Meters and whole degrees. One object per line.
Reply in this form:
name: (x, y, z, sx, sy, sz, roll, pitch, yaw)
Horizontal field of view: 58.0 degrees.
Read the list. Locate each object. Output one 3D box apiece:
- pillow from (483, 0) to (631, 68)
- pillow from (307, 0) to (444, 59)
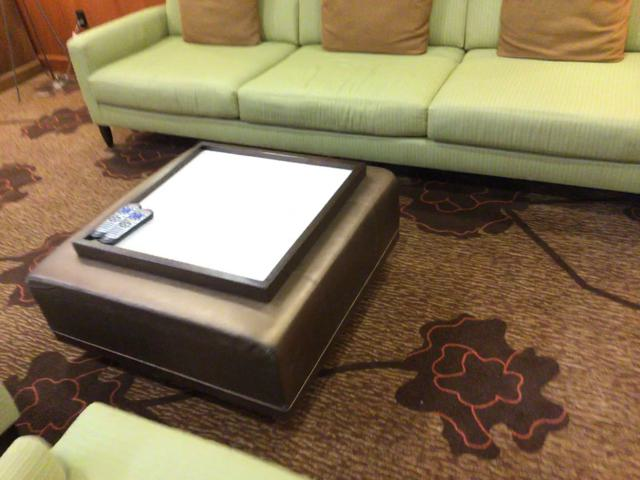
pillow: (0.990, -1.030, 2.370, 0.530, 0.530, 0.200, 14, 41, 22)
pillow: (0.260, -1.190, 2.730, 0.600, 0.530, 0.250, 14, 41, 22)
